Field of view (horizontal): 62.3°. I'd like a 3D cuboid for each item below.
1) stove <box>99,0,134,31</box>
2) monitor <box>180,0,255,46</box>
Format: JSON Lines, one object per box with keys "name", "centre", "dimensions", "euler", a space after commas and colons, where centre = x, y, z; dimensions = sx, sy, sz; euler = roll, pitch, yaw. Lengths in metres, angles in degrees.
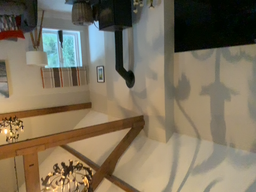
{"name": "stove", "centre": [-0.220, -1.550, 3.870], "dimensions": [0.440, 0.590, 0.450], "euler": [-8, -170, -37]}
{"name": "monitor", "centre": [1.160, -1.110, 2.600], "dimensions": [0.050, 0.850, 1.240], "euler": [-9, -170, -38]}
